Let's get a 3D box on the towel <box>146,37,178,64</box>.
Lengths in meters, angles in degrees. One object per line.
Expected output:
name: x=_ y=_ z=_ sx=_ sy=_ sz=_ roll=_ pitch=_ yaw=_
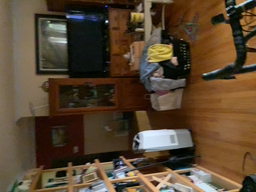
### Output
towel: x=0.430 y=-0.570 z=2.710 sx=0.240 sy=0.300 sz=0.260 roll=148 pitch=119 yaw=-71

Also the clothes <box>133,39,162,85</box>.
clothes: x=0.250 y=-0.450 z=2.890 sx=0.460 sy=0.170 sz=0.450 roll=123 pitch=142 yaw=-62

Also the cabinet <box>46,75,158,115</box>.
cabinet: x=-0.440 y=-0.030 z=3.780 sx=0.530 sy=1.850 sz=0.620 roll=174 pitch=94 yaw=-73

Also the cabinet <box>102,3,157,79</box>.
cabinet: x=0.010 y=-0.960 z=3.930 sx=0.570 sy=0.850 sz=1.210 roll=174 pitch=94 yaw=-73
